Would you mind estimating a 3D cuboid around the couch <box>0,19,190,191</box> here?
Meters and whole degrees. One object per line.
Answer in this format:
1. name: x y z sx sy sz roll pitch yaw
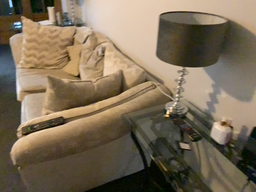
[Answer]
1. couch: -0.580 -0.100 2.070 1.020 0.770 2.150 -13 35 -23
